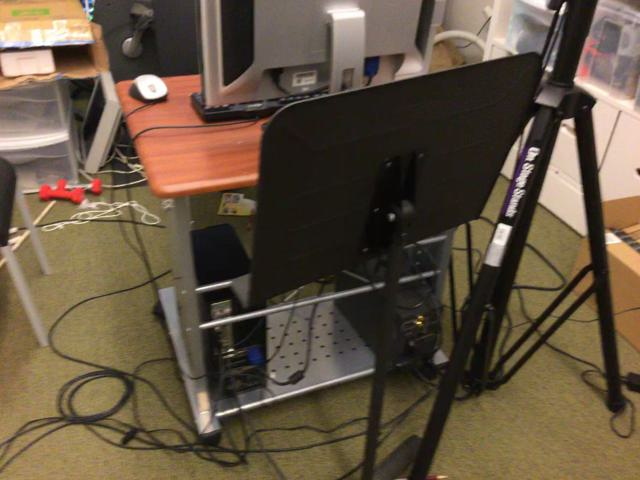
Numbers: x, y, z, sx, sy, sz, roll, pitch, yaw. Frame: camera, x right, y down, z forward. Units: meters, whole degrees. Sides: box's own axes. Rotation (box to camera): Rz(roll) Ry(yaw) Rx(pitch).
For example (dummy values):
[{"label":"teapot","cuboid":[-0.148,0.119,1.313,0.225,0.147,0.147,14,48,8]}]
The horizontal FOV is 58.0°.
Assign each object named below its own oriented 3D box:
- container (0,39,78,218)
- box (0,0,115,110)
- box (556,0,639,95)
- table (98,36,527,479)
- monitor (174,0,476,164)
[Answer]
[{"label":"container","cuboid":[-1.230,-0.450,2.280,0.410,0.520,0.540,-10,34,-18]},{"label":"box","cuboid":[-1.090,-0.740,2.210,0.500,0.290,0.540,-10,34,-19]},{"label":"box","cuboid":[1.120,-0.740,2.030,0.350,0.340,0.320,-10,34,-18]},{"label":"table","cuboid":[-0.090,-0.030,1.550,0.790,0.800,0.730,-10,34,-18]},{"label":"monitor","cuboid":[0.020,-0.400,1.080,0.540,0.400,0.160,-14,35,-24]}]
